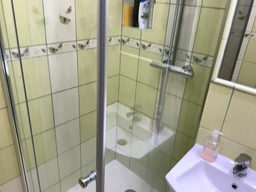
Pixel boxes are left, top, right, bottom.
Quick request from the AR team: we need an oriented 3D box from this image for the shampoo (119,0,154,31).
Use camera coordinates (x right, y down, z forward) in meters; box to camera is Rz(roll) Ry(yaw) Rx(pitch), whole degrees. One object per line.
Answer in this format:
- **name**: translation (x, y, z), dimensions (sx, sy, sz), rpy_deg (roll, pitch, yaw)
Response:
- **shampoo**: translation (0.060, -0.630, 1.560), dimensions (0.210, 0.260, 0.120), rpy_deg (23, 31, 33)

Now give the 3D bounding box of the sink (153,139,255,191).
- **sink**: translation (0.420, 0.450, 0.920), dimensions (0.490, 0.180, 0.380), rpy_deg (24, 32, 35)
